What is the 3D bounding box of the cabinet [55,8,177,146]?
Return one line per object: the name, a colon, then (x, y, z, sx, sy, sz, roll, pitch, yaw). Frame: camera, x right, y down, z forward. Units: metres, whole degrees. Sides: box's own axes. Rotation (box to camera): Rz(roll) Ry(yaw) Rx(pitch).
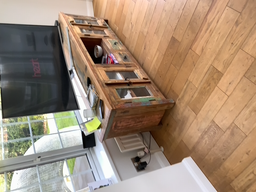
cabinet: (-0.290, -0.360, 2.430, 1.800, 0.660, 0.470, 58, 140, 38)
